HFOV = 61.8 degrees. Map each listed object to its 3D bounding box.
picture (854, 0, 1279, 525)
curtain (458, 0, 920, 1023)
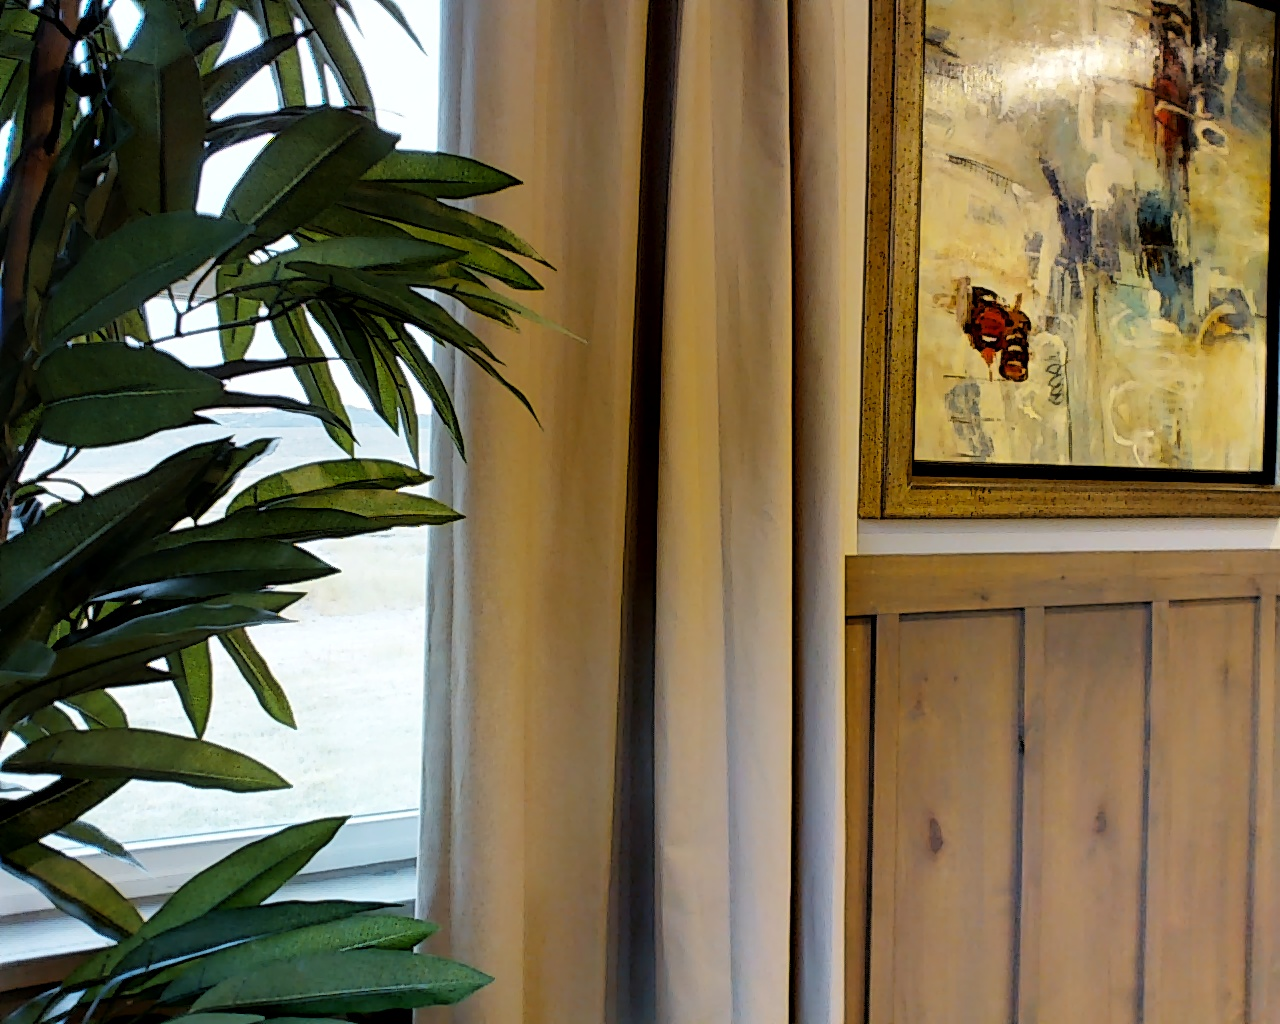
[{"bbox_3d":[0.800,-0.520,1.770,1.050,1.080,0.070,1,1,-28],"label":"picture"},{"bbox_3d":[0.060,0.030,1.300,0.490,2.650,0.230,1,1,-28],"label":"curtain"}]
